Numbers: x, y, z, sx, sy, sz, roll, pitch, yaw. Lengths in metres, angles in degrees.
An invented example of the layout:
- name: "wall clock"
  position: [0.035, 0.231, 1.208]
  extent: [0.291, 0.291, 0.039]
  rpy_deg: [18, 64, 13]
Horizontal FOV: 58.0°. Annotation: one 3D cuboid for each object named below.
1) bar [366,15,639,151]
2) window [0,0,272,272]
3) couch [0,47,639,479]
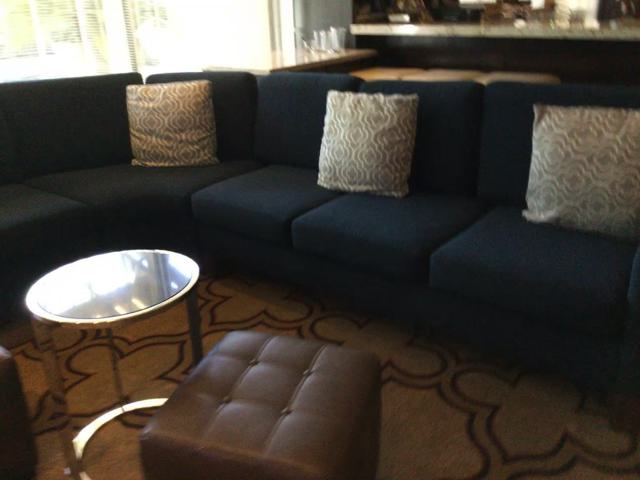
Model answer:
- name: "bar"
  position: [1.330, -1.130, 4.040]
  extent: [2.110, 0.770, 0.420]
  rpy_deg: [13, 25, 34]
- name: "window"
  position: [-1.770, -0.580, 2.890]
  extent: [0.490, 1.420, 3.950]
  rpy_deg: [13, 25, 35]
- name: "couch"
  position: [-0.540, -0.070, 2.240]
  extent: [3.280, 1.130, 2.770]
  rpy_deg: [13, 25, 34]
